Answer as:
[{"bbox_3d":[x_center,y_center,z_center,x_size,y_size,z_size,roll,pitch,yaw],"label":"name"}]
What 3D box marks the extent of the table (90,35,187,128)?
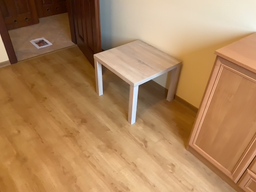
[{"bbox_3d":[0.080,-0.170,1.960,0.590,0.460,0.590,-28,49,-32],"label":"table"}]
